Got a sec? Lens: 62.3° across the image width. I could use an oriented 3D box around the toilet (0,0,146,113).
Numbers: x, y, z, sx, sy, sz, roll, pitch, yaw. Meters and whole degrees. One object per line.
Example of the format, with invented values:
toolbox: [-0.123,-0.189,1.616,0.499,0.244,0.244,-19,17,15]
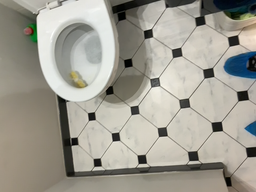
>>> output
toilet: [-0.240,-0.230,0.860,0.380,0.860,0.520,-11,86,16]
